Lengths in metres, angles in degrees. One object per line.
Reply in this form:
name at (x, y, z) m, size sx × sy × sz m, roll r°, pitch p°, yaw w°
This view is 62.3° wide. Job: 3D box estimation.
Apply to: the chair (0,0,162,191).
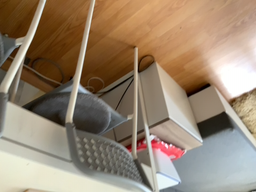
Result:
chair at (-0.190, 0.030, 0.920) m, size 0.410 × 0.790 × 0.360 m, roll -29°, pitch 135°, yaw 26°
